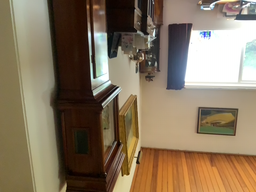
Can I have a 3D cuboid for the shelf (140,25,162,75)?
[{"bbox_3d":[0.510,-1.010,4.710,0.430,1.040,0.430,3,-166,11],"label":"shelf"}]
